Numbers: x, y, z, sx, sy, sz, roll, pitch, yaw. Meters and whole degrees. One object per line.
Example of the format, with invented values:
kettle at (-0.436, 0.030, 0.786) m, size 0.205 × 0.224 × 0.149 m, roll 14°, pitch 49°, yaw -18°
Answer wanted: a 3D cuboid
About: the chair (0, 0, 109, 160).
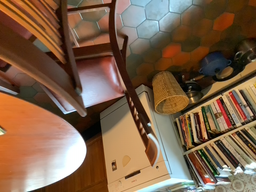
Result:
chair at (-0.410, -0.300, 0.670) m, size 0.470 × 0.870 × 0.350 m, roll -25°, pitch 145°, yaw 18°
